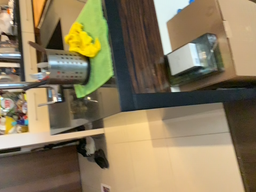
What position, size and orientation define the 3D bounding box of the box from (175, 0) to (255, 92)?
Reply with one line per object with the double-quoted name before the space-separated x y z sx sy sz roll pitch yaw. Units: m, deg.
"box" 0.510 -0.320 1.080 0.240 0.420 0.550 -19 77 56
